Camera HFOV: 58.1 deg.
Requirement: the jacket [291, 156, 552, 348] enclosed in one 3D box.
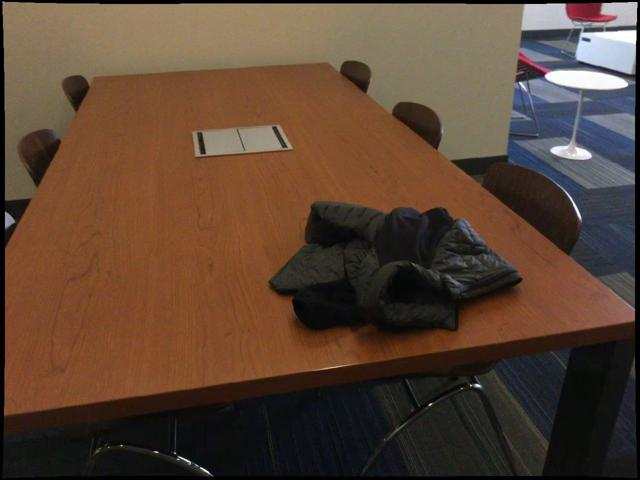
[{"bbox_3d":[0.170,-0.010,1.220,0.369,0.140,0.500,-7,29,-11],"label":"jacket"}]
